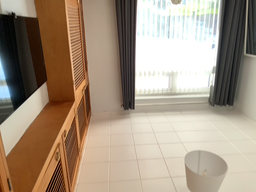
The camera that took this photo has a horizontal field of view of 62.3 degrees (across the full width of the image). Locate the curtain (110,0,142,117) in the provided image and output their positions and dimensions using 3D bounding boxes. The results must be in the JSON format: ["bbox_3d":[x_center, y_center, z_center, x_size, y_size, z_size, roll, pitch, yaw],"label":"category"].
[{"bbox_3d":[-0.020,-0.710,3.210,0.440,2.150,0.150,-2,-161,-4],"label":"curtain"}]

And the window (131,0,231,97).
[{"bbox_3d":[0.830,-0.860,3.500,1.550,1.700,0.170,-3,-161,-5],"label":"window"}]

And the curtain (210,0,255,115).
[{"bbox_3d":[1.630,-0.710,3.330,0.380,2.100,0.200,-2,-161,-4],"label":"curtain"}]

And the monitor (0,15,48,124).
[{"bbox_3d":[-0.730,-0.270,1.460,0.050,0.520,1.030,-3,-161,-6],"label":"monitor"}]
